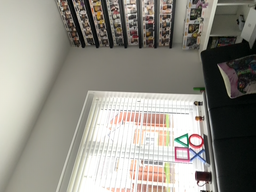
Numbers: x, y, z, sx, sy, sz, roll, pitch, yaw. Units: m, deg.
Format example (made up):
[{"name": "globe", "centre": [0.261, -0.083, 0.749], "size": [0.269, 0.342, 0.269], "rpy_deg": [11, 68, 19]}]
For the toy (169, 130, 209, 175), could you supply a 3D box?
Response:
[{"name": "toy", "centre": [0.560, 0.520, 2.000], "size": [0.120, 0.330, 0.370], "rpy_deg": [82, -167, -52]}]

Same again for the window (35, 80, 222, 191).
[{"name": "window", "centre": [0.050, 0.450, 2.140], "size": [0.320, 1.510, 1.280], "rpy_deg": [81, -166, -53]}]
